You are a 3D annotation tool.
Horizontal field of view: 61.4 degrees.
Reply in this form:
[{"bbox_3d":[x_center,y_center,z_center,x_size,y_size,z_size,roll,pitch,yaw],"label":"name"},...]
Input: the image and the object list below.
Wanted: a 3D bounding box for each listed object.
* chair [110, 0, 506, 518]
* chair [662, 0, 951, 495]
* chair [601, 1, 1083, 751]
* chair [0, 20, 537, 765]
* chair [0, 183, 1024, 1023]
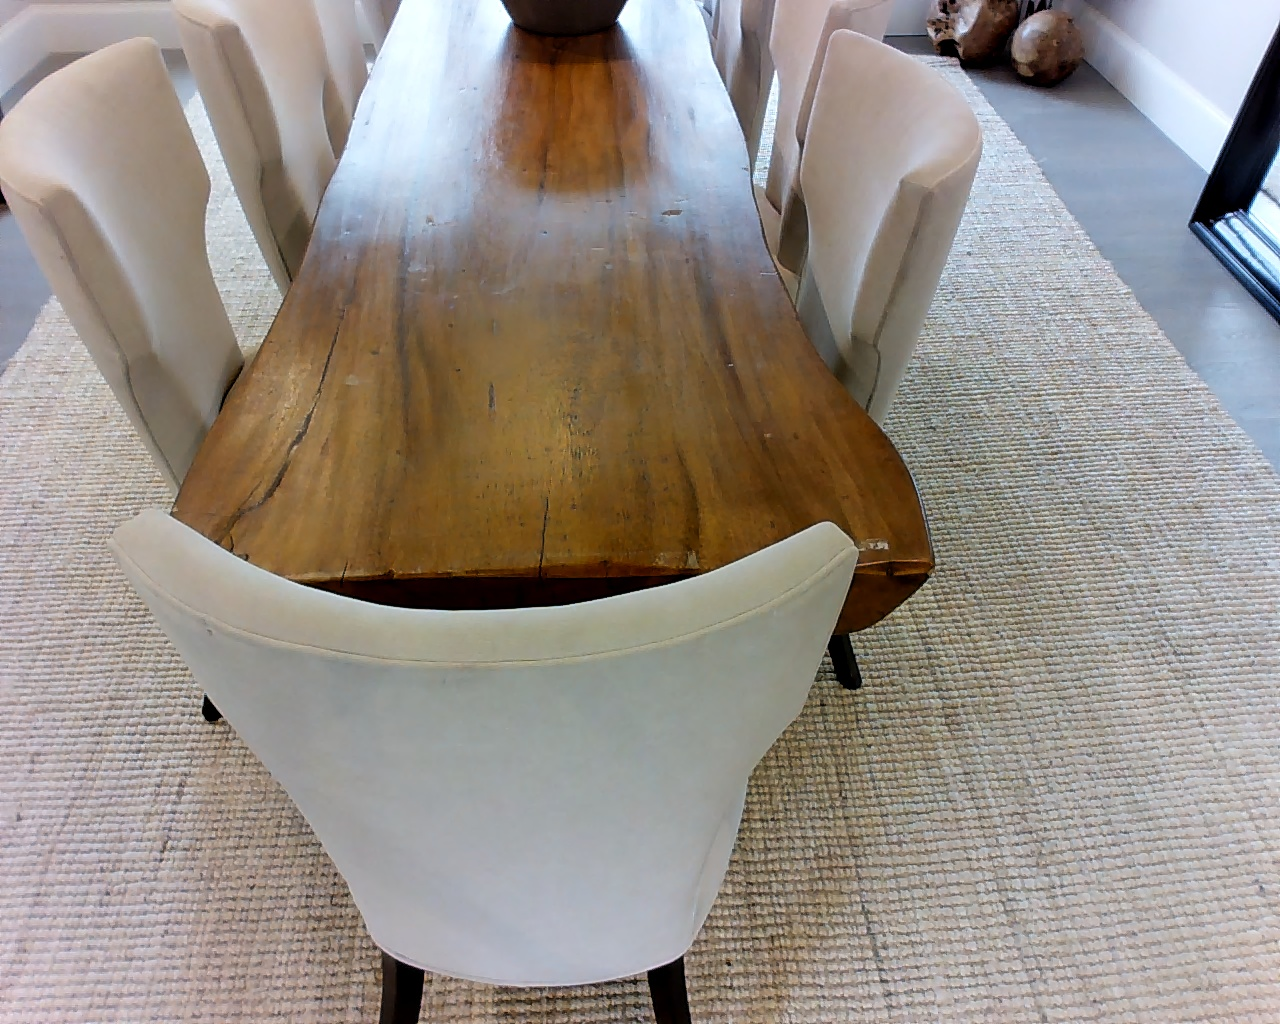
[{"bbox_3d":[-0.590,-0.570,2.250,0.520,1.040,0.560,-2,41,-3],"label":"chair"},{"bbox_3d":[0.280,-0.640,2.300,0.390,1.020,0.640,-2,41,-3],"label":"chair"},{"bbox_3d":[0.220,-0.210,1.840,0.540,1.040,0.710,-2,41,-2],"label":"chair"},{"bbox_3d":[-0.570,-0.170,1.790,0.720,1.030,0.610,-3,41,-5],"label":"chair"},{"bbox_3d":[-0.120,0.260,1.300,0.680,1.040,0.690,-4,41,-5],"label":"chair"}]
